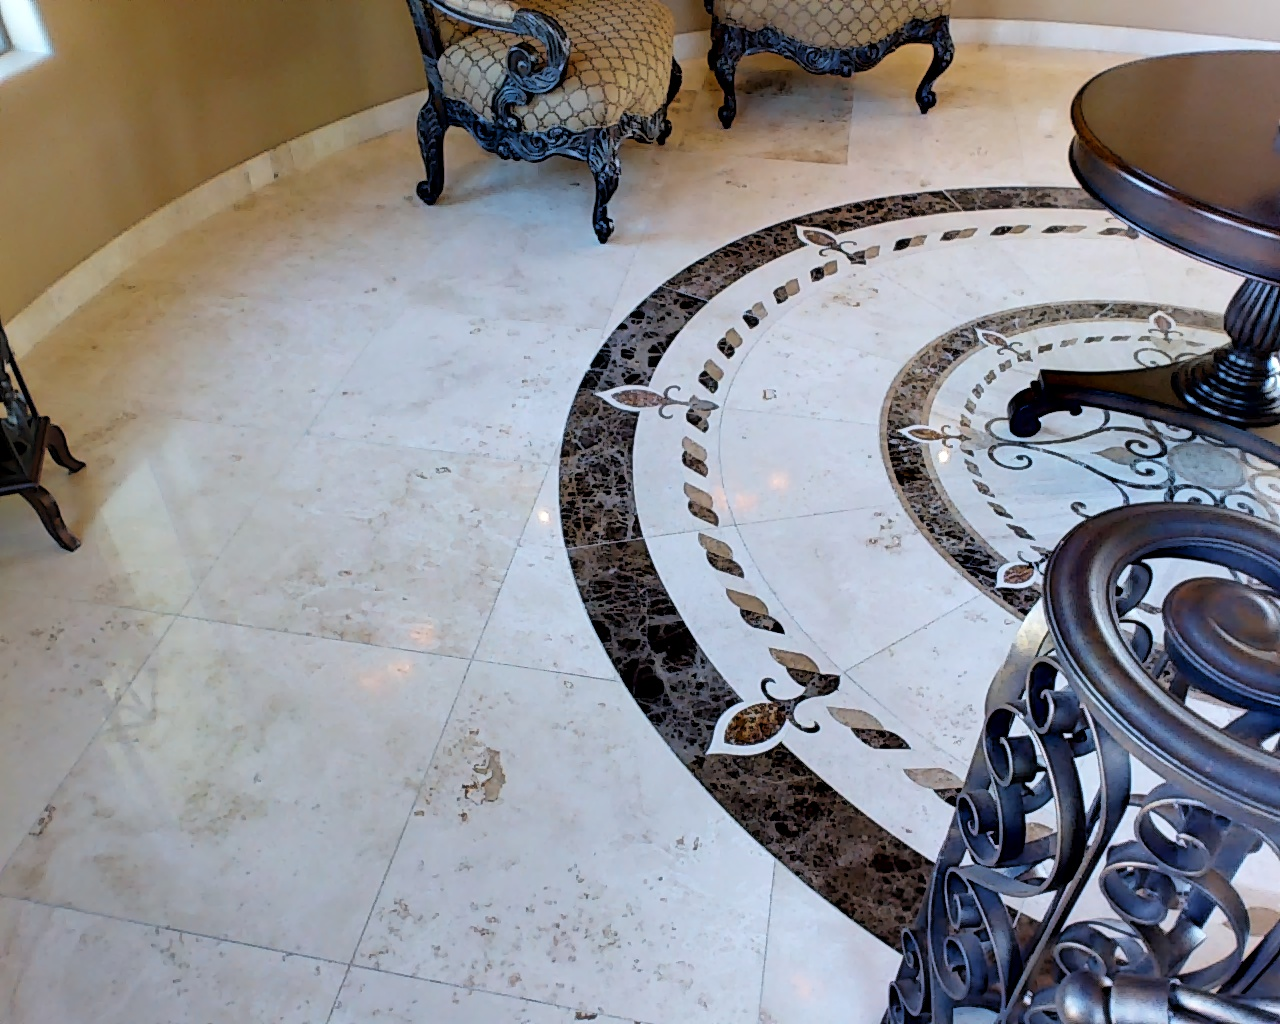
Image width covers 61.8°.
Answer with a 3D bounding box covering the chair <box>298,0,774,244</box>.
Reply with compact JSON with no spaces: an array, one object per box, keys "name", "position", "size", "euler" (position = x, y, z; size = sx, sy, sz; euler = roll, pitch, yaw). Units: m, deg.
[{"name":"chair","position":[-0.260,-1.719,3.200],"size":[1.140,1.280,1.030],"euler":[15,44,14]}]
